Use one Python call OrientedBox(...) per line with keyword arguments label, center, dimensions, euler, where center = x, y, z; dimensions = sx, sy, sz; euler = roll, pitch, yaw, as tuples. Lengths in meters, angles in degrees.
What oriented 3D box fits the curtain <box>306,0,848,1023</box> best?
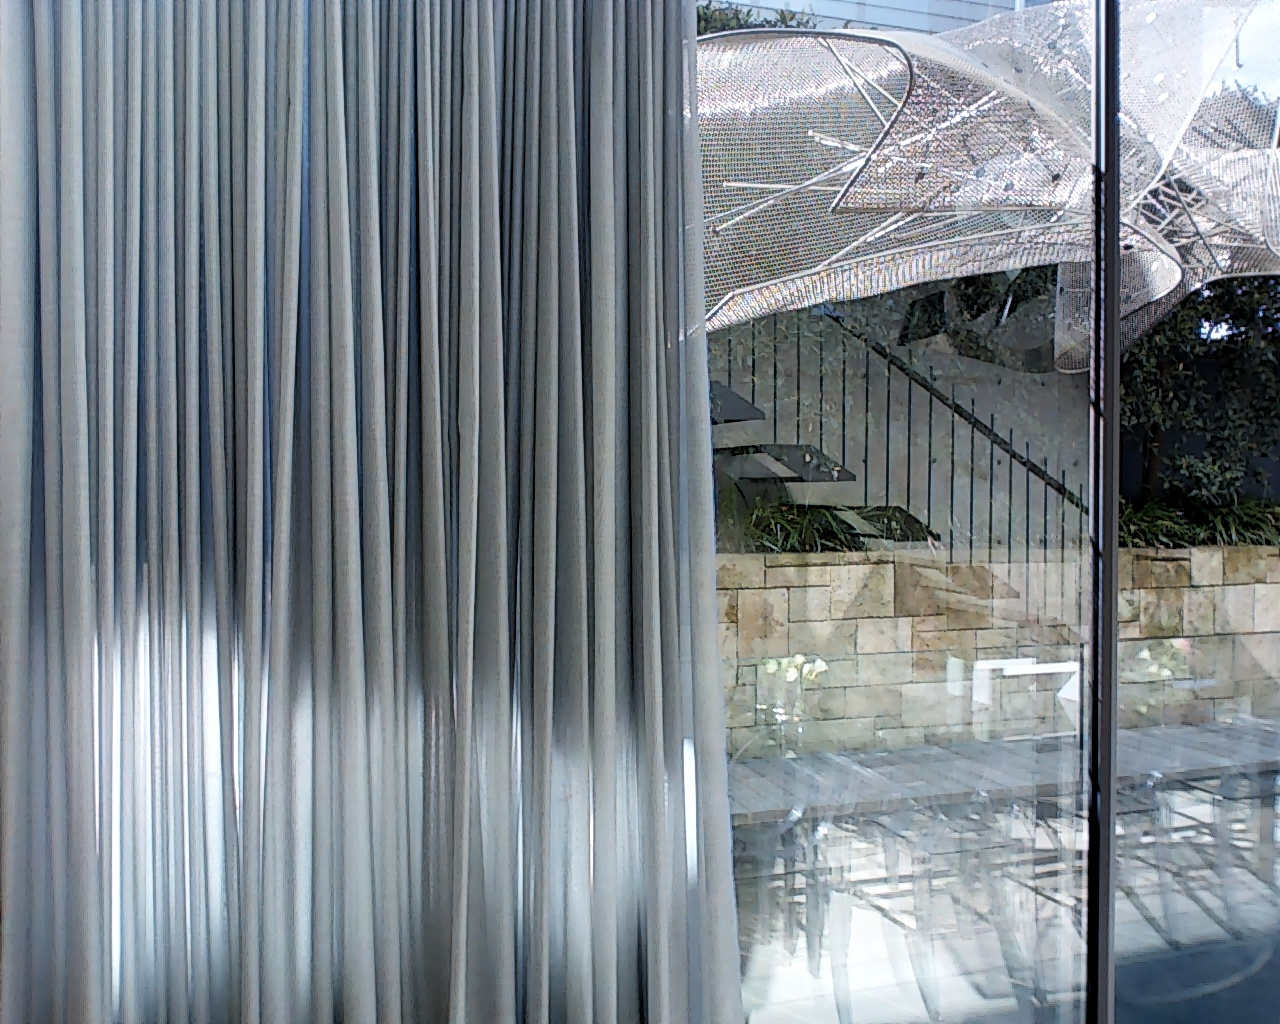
OrientedBox(label="curtain", center=(-0.090, 0.170, 1.670), dimensions=(0.820, 2.651, 0.190), euler=(0, 1, -19))
